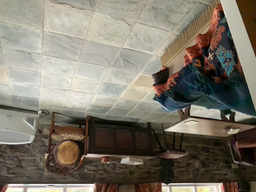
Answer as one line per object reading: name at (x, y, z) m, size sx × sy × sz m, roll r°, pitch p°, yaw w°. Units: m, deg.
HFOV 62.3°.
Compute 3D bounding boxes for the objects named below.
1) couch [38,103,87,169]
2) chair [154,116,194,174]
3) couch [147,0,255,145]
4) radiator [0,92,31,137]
couch at (-0.920, 0.590, 2.990) m, size 0.530 × 0.780 × 0.570 m, roll 8°, pitch 153°, yaw -19°
chair at (0.740, 0.830, 3.540) m, size 0.350 × 0.850 × 0.530 m, roll 6°, pitch 154°, yaw -16°
couch at (1.010, -0.230, 1.330) m, size 1.450 × 0.860 × 0.970 m, roll 7°, pitch 153°, yaw -19°
radiator at (-1.590, 0.210, 2.570) m, size 0.670 × 0.470 × 0.200 m, roll 12°, pitch 152°, yaw -27°
